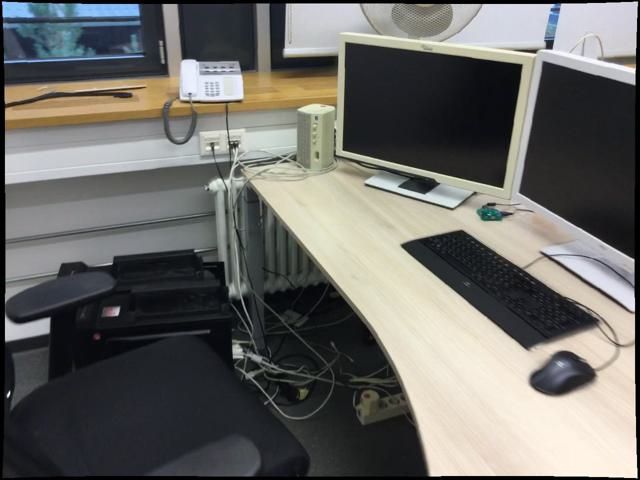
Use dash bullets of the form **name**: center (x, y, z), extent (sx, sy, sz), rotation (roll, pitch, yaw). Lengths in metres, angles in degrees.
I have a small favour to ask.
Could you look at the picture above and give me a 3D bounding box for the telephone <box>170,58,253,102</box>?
- **telephone**: center (-0.360, -0.531, 1.900), extent (0.220, 0.080, 0.240), rotation (-9, 30, -19)
